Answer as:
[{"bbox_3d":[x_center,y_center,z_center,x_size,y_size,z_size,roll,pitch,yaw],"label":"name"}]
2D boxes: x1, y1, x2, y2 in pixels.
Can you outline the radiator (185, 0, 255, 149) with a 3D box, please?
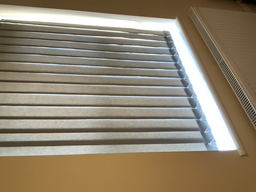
[{"bbox_3d":[0.850,-0.220,1.300,0.080,0.700,1.250,105,164,-48],"label":"radiator"}]
